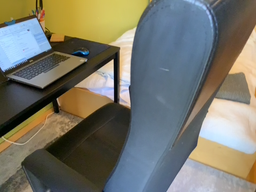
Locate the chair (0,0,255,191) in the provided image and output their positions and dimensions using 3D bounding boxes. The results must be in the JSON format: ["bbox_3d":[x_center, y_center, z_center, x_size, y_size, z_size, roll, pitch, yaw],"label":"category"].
[{"bbox_3d":[-0.030,0.160,0.830,0.660,1.200,0.670,23,39,29],"label":"chair"}]
